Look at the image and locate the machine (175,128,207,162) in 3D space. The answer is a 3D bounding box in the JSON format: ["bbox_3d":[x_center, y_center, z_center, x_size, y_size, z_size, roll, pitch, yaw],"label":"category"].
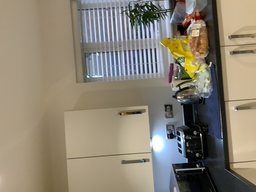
[{"bbox_3d":[0.570,0.440,1.960,0.270,0.190,0.250,122,143,-87],"label":"machine"}]

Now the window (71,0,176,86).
[{"bbox_3d":[-0.050,-0.590,2.290,0.060,1.050,0.890,142,123,-88],"label":"window"}]
